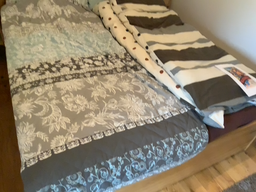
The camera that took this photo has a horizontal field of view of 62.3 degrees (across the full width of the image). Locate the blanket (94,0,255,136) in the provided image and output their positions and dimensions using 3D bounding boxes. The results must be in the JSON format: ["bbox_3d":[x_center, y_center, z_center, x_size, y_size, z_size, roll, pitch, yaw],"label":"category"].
[{"bbox_3d":[0.360,-0.490,1.720,0.740,0.190,1.710,-13,46,-23],"label":"blanket"}]
